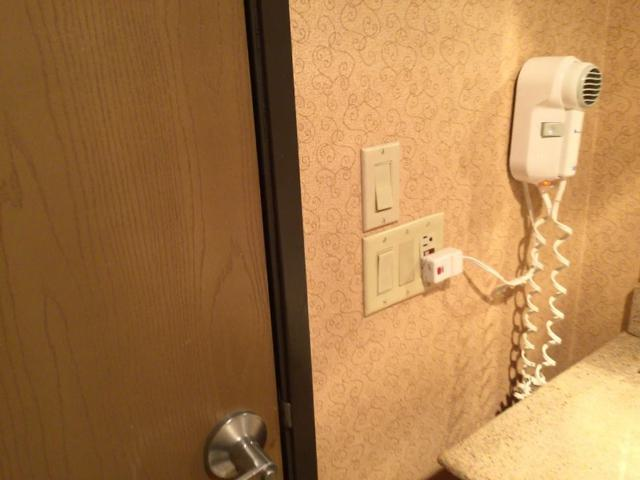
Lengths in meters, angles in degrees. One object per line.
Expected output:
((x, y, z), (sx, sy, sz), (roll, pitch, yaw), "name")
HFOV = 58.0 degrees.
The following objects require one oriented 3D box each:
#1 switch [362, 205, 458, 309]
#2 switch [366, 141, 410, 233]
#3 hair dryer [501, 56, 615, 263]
((0.130, 0.020, 0.820), (0.160, 0.110, 0.030), (-15, 22, -36), "switch")
((0.090, -0.070, 0.760), (0.070, 0.110, 0.010), (-15, 22, -36), "switch")
((0.370, -0.130, 0.910), (0.110, 0.300, 0.100), (-15, 22, -36), "hair dryer")
